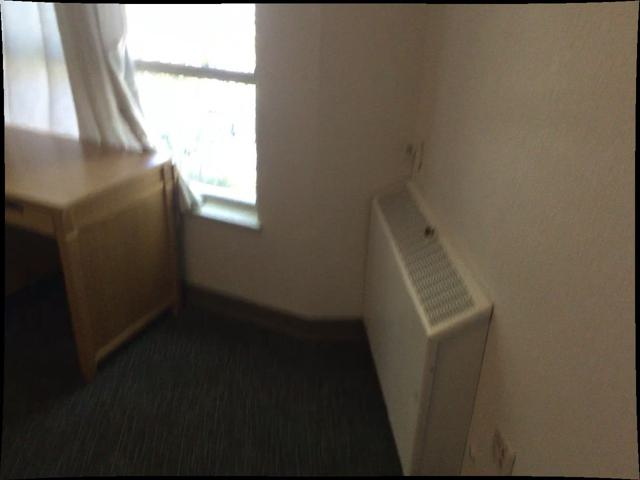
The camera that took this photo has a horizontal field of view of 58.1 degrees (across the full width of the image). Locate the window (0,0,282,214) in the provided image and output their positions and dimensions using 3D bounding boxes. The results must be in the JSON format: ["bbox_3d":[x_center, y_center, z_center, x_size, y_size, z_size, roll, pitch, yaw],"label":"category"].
[{"bbox_3d":[-0.968,-0.781,2.530,1.638,1.171,0.120,10,31,20],"label":"window"}]

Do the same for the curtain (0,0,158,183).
[{"bbox_3d":[-1.378,-0.851,2.500,1.358,1.001,0.160,12,30,18],"label":"curtain"}]

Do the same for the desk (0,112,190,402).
[{"bbox_3d":[-1.298,-0.010,2.550,1.189,0.831,0.670,14,31,23],"label":"desk"}]
